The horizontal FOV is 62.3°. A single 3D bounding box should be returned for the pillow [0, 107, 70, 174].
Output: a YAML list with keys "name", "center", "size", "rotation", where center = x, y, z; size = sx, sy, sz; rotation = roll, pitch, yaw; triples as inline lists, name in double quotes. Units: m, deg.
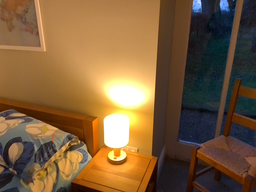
- name: "pillow"
  center: [-0.760, 0.260, 1.430]
  size: [0.570, 0.150, 0.400]
  rotation: [9, 22, 20]

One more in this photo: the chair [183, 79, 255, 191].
- name: "chair"
  center: [0.800, 0.410, 1.580]
  size: [0.490, 0.930, 0.460]
  rotation: [-13, 25, -34]

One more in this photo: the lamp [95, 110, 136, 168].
- name: "lamp"
  center: [-0.080, 0.290, 1.490]
  size: [0.200, 0.290, 0.230]
  rotation: [9, 22, 18]
